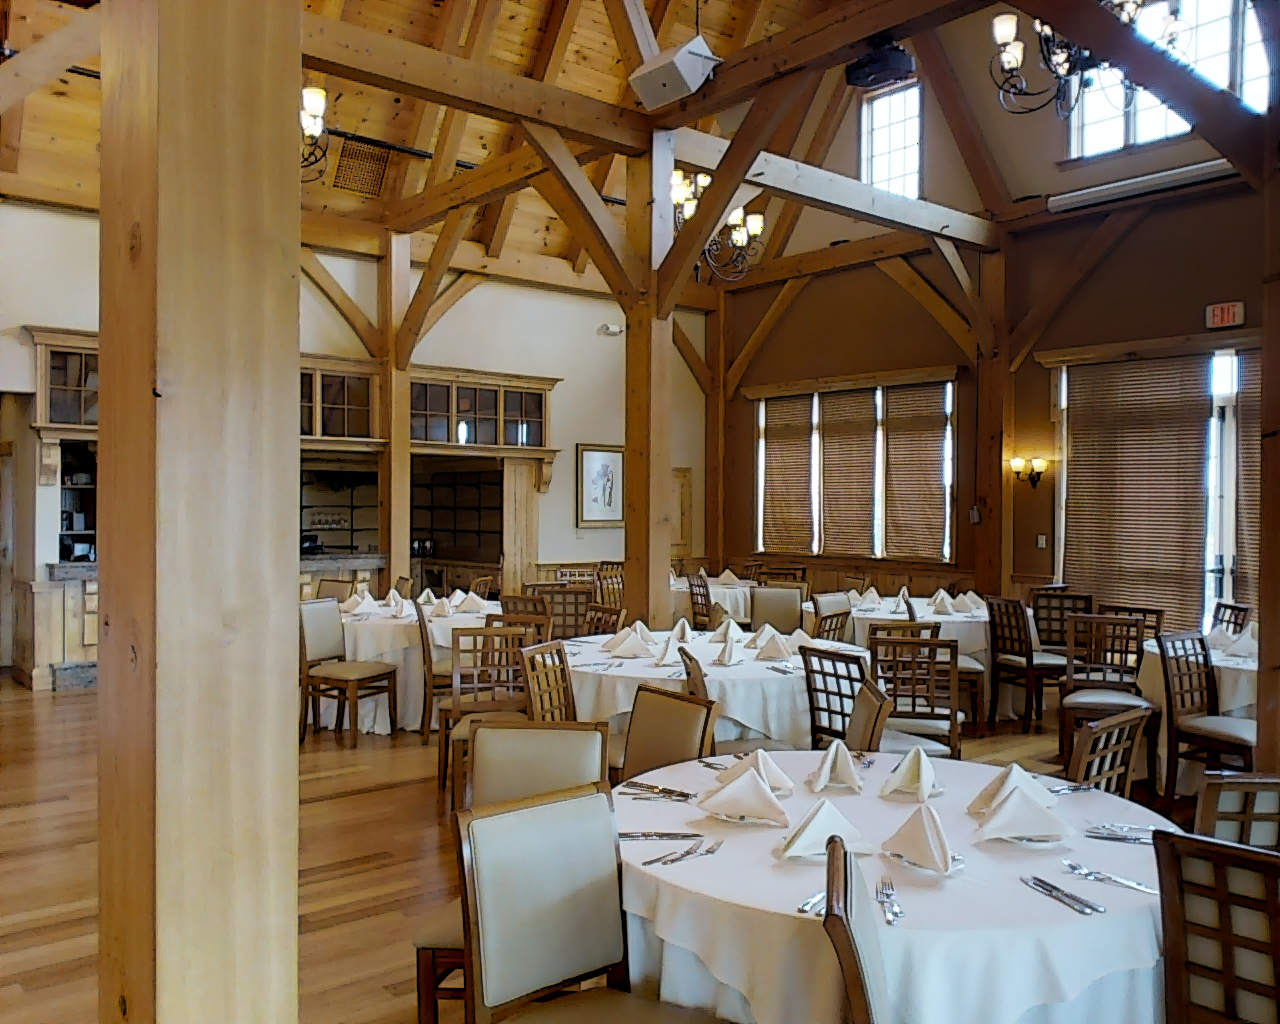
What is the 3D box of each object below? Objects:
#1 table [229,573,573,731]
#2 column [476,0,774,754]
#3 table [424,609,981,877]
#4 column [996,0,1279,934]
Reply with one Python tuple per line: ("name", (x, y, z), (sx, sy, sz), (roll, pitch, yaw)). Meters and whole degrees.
("table", (-1.680, 0.990, 8.180), (2.060, 0.890, 2.000), (0, 0, 5))
("column", (0.000, -0.830, 7.840), (1.790, 4.549, 2.640), (0, 0, 4))
("table", (0.310, 1.070, 5.830), (2.130, 0.790, 2.140), (0, 1, -41))
("column", (2.870, -0.680, 4.580), (1.890, 4.369, 1.830), (0, 1, -43))
